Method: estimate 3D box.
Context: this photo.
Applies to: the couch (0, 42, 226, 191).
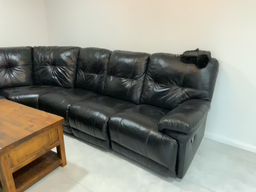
[{"bbox_3d":[-0.570,-0.090,2.780,3.120,0.950,1.020,14,24,34],"label":"couch"}]
